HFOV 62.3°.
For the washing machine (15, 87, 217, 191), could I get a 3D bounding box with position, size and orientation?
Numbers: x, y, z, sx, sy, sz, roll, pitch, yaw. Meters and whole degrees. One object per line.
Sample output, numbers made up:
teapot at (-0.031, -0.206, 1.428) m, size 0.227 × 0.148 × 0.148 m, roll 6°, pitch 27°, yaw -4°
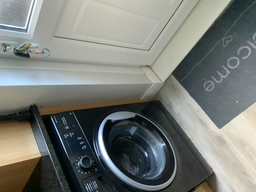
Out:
washing machine at (-0.090, 0.420, 1.290) m, size 0.640 × 0.830 × 0.660 m, roll -52°, pitch 58°, yaw 34°
